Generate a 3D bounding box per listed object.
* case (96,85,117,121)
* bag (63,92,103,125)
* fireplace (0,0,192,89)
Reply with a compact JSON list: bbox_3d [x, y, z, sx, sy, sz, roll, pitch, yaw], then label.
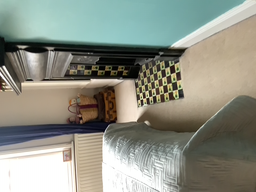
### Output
[{"bbox_3d":[-0.350,0.130,3.440,0.380,0.190,0.530,157,108,-65],"label":"case"},{"bbox_3d":[-0.710,0.190,3.360,0.190,0.560,0.470,156,110,-65],"label":"bag"},{"bbox_3d":[-0.350,-0.360,1.970,1.200,1.310,0.370,163,103,-66],"label":"fireplace"}]
